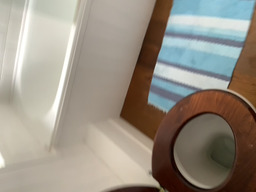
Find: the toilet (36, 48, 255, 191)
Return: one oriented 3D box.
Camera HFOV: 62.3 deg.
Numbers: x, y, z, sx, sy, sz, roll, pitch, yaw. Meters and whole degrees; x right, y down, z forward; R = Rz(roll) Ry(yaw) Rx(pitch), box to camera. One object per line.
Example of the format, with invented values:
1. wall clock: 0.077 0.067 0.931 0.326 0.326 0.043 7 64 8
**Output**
1. toilet: 0.200 0.290 0.760 0.520 0.810 0.660 31 110 39
